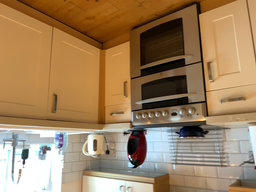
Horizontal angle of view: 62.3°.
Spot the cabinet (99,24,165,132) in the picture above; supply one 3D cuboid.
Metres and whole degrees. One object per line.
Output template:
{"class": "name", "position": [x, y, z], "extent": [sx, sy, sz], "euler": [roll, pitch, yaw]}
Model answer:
{"class": "cabinet", "position": [0.050, -0.120, 2.080], "extent": [0.340, 0.900, 0.580], "euler": [-10, 165, 35]}

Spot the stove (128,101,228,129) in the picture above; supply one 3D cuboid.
{"class": "stove", "position": [0.420, 0.180, 1.720], "extent": [0.590, 0.130, 0.600], "euler": [-10, 165, 35]}
